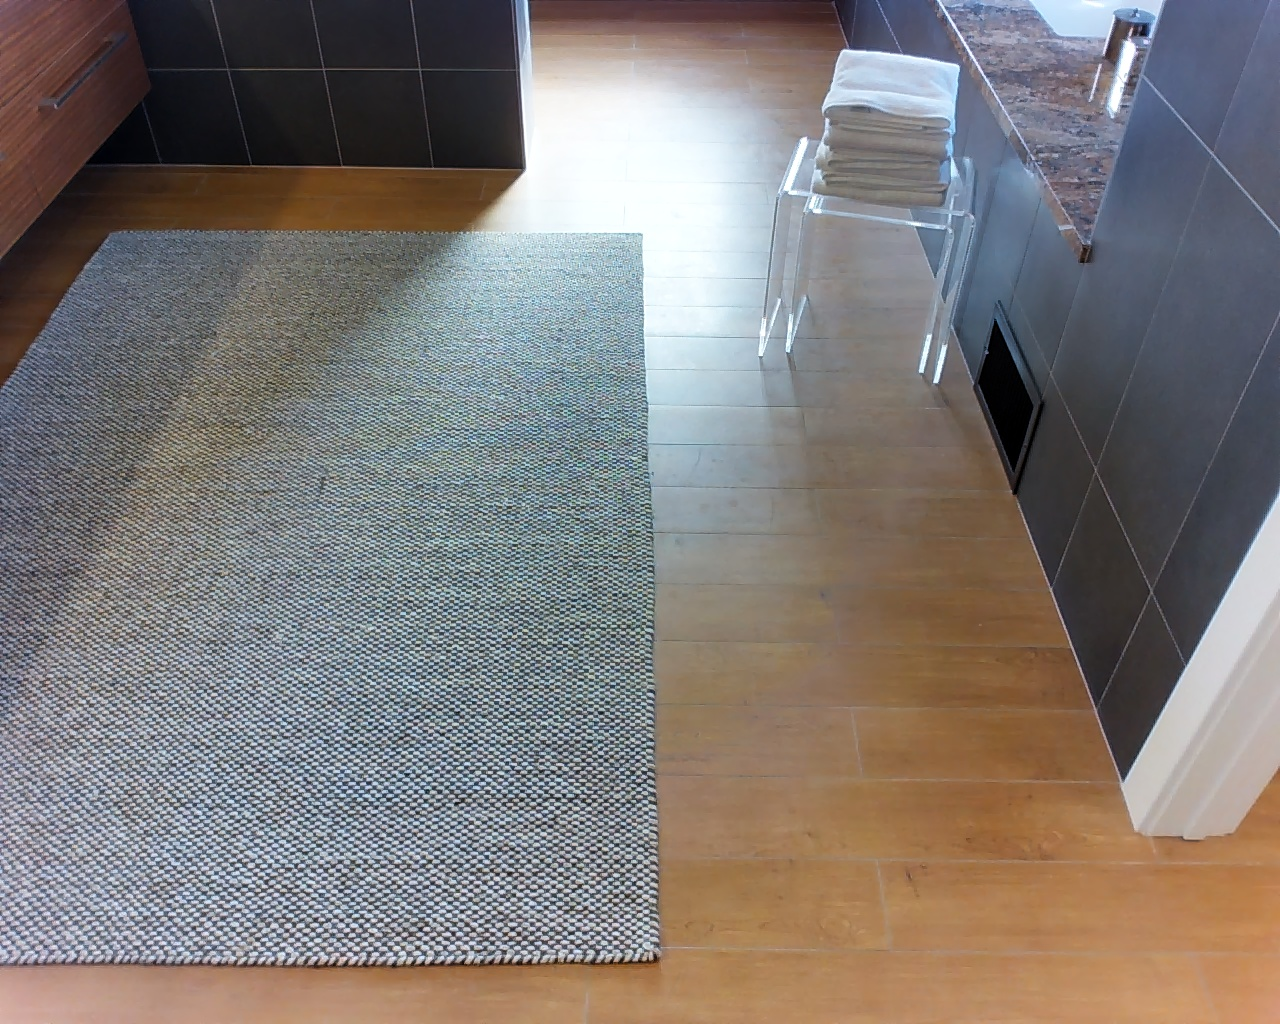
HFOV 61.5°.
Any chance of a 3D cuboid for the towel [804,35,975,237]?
[{"bbox_3d":[0.570,-0.870,2.470,0.320,0.280,0.390,8,44,8],"label":"towel"}]
